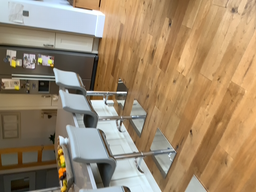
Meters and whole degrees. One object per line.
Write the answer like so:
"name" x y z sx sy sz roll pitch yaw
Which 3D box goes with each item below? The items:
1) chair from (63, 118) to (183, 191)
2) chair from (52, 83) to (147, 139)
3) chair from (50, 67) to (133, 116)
"chair" -0.070 0.560 2.080 0.440 1.010 0.490 -126 44 -51
"chair" -0.370 0.170 2.680 0.440 1.040 0.490 -126 44 -51
"chair" -0.540 -0.060 3.040 0.440 1.040 0.490 -126 44 -51
